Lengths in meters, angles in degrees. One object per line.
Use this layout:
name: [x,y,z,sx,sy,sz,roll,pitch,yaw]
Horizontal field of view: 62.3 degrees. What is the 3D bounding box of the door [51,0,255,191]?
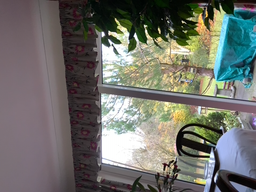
door: [0.430,0.120,2.280,0.150,2.500,2.200,-57,-28,-62]
